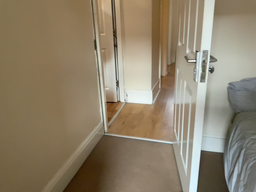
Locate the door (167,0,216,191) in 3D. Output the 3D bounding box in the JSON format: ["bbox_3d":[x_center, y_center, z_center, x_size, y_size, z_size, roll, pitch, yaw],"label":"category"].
[{"bbox_3d":[0.400,-0.250,1.510,0.150,1.970,0.920,2,22,9],"label":"door"}]

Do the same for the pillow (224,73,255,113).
[{"bbox_3d":[0.920,-0.030,1.610,0.280,0.220,0.270,3,22,11],"label":"pillow"}]
